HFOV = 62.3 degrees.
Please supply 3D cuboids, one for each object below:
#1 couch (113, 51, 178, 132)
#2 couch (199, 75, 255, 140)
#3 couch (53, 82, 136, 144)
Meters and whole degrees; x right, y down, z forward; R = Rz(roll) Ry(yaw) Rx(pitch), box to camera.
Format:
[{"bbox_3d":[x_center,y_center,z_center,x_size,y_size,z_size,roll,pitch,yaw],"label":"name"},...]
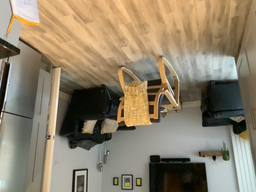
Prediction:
[{"bbox_3d":[0.270,0.000,3.050,0.680,0.890,0.820,-8,162,21],"label":"couch"},{"bbox_3d":[1.930,0.270,3.930,0.910,0.940,1.080,-3,163,7],"label":"couch"},{"bbox_3d":[-0.590,0.470,4.510,1.040,0.920,1.600,-7,162,19],"label":"couch"}]
